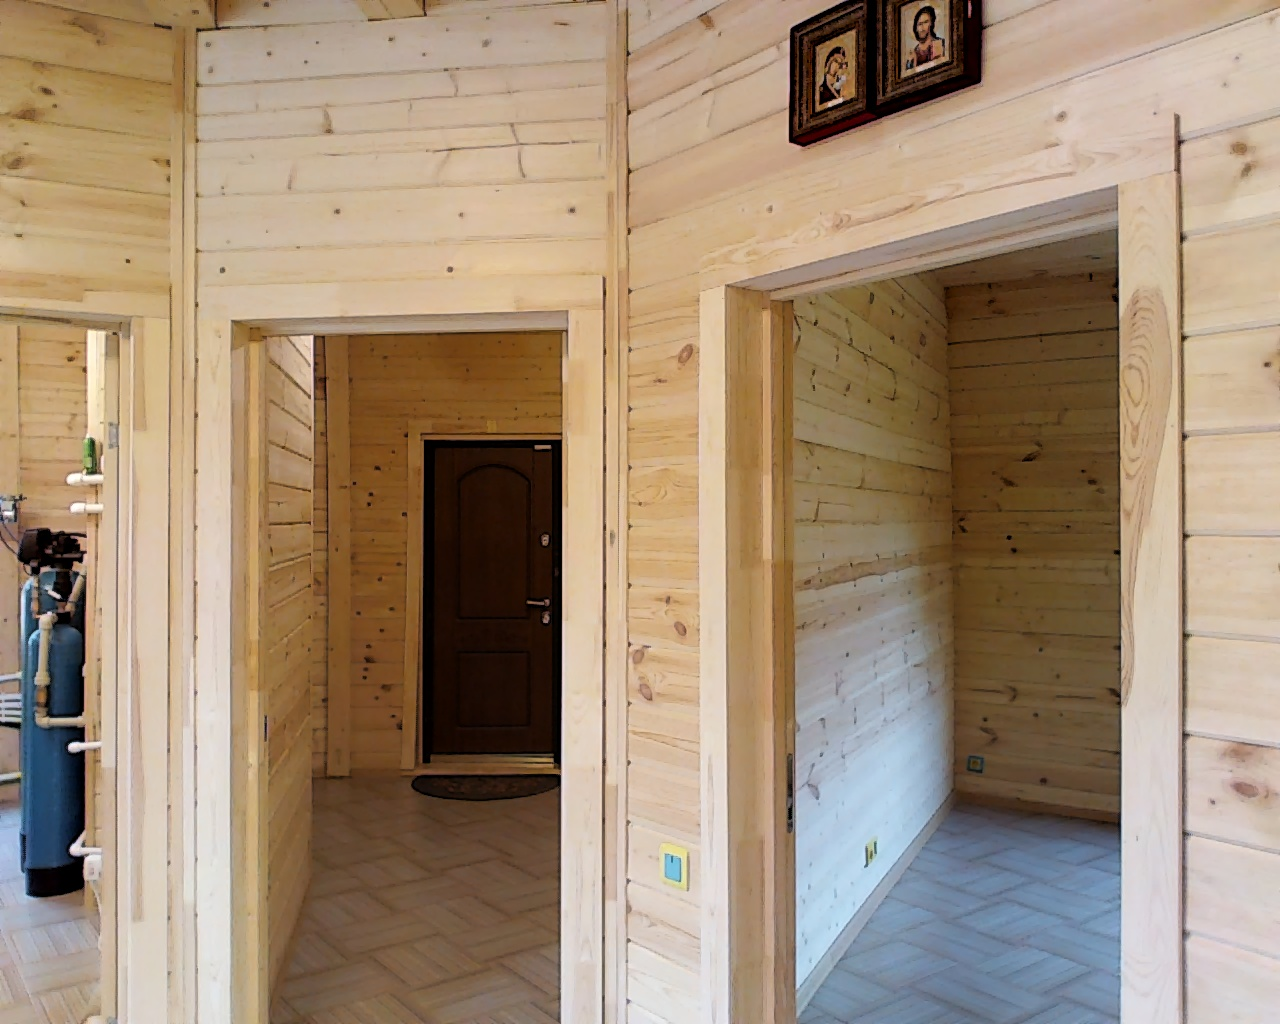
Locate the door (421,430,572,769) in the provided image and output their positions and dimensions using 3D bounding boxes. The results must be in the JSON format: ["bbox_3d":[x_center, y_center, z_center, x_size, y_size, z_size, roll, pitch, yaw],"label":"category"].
[{"bbox_3d":[-0.890,0.540,6.690,0.920,2.091,0.090,0,-1,0],"label":"door"}]

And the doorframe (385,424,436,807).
[{"bbox_3d":[-1.340,0.570,6.320,0.260,2.091,0.860,0,-1,-10],"label":"doorframe"}]

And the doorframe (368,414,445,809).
[{"bbox_3d":[-1.350,0.540,6.280,0.310,2.141,0.880,0,-1,-4],"label":"doorframe"}]
